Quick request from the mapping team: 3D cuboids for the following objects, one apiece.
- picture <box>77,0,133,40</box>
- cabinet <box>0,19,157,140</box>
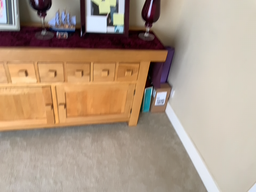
[{"bbox_3d":[-0.160,-0.630,1.500,0.310,0.370,0.140,8,31,-25],"label":"picture"},{"bbox_3d":[-0.610,-0.130,1.700,1.470,0.780,0.470,-3,40,-16],"label":"cabinet"}]
